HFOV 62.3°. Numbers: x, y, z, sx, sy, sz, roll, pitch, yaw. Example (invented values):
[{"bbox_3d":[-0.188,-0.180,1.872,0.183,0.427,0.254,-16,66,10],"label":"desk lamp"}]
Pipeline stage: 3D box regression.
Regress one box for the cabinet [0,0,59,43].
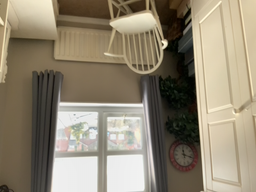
[{"bbox_3d":[-0.870,-0.860,1.790,0.480,0.400,0.940,1,168,-14],"label":"cabinet"}]
